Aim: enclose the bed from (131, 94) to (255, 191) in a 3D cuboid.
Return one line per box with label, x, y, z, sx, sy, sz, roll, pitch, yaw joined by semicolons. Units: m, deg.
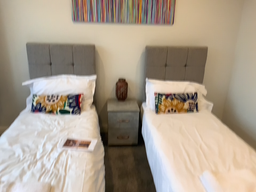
bed;0.620;0.570;2.120;0.890;0.520;2.140;0;20;-7
